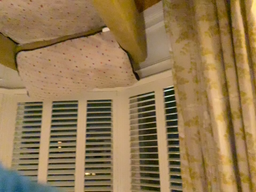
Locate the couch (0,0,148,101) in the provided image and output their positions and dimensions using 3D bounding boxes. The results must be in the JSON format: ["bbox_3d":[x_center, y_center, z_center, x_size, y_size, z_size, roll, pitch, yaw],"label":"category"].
[{"bbox_3d":[-0.530,-0.530,1.580,1.150,0.850,1.030,-5,165,15],"label":"couch"}]
